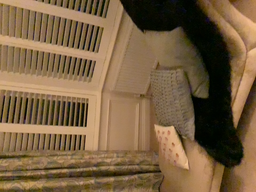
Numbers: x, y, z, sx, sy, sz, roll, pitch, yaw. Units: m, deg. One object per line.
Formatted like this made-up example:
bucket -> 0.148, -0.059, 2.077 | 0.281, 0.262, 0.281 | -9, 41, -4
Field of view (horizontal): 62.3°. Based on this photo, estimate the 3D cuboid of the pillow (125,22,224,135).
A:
pillow -> 0.250, -0.110, 1.330 | 0.440, 0.310, 0.570 | -152, 70, -65
